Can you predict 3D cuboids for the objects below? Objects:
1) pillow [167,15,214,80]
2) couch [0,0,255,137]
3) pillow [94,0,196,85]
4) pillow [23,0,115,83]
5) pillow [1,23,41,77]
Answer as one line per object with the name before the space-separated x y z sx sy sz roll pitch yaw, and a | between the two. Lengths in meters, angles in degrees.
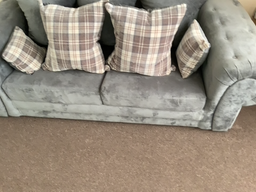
pillow | 0.400 -0.330 1.430 0.140 0.250 0.350 18 44 -13
couch | -0.120 -0.370 1.620 2.030 0.750 0.940 3 47 4
pillow | 0.090 -0.350 1.330 0.460 0.410 0.190 22 42 -16
pillow | -0.380 -0.370 1.350 0.430 0.450 0.180 22 42 -17
pillow | -0.730 -0.310 1.450 0.110 0.280 0.220 27 40 -20
